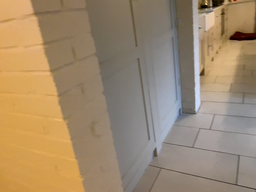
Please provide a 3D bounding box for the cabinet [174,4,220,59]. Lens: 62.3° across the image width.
[{"bbox_3d":[1.480,-1.370,4.440,0.680,0.890,1.130,4,26,29],"label":"cabinet"}]
